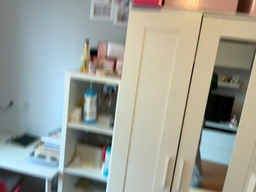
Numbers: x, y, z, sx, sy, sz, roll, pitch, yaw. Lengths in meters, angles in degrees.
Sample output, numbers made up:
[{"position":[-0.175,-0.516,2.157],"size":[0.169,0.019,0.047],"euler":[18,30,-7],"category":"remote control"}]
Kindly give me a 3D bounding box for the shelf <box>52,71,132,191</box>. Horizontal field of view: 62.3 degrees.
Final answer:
[{"position":[-0.300,0.560,1.730],"size":[0.410,1.450,0.450],"euler":[9,12,10],"category":"shelf"}]
